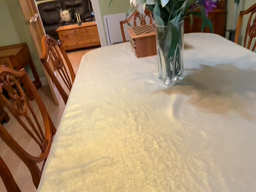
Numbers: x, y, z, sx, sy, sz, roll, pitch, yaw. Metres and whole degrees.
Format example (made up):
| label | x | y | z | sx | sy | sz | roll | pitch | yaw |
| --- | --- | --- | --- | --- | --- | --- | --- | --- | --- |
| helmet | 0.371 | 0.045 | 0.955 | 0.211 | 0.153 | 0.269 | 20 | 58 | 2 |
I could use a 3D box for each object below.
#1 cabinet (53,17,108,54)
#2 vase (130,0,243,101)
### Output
| label | x | y | z | sx | sy | sz | roll | pitch | yaw |
| --- | --- | --- | --- | --- | --- | --- | --- | --- | --- |
| cabinet | -1.010 | -1.360 | 4.690 | 1.020 | 0.520 | 0.600 | -10 | 29 | -2 |
| vase | 0.220 | -0.300 | 0.910 | 0.360 | 0.510 | 0.300 | -10 | 29 | -2 |
